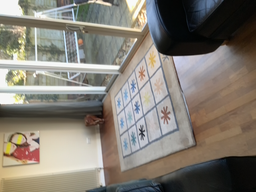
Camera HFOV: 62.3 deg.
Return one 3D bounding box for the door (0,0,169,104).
[{"bbox_3d":[-0.780,-1.050,2.650,5.640,2.440,0.070,130,135,-57],"label":"door"}]
